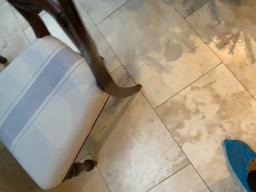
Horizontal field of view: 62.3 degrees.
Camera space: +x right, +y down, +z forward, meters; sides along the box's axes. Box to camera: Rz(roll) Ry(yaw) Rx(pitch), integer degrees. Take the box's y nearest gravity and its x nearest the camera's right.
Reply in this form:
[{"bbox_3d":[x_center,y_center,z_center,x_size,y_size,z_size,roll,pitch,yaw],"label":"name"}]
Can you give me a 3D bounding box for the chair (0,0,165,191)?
[{"bbox_3d":[-0.270,-0.050,0.740,0.470,0.830,0.590,38,90,18],"label":"chair"}]
